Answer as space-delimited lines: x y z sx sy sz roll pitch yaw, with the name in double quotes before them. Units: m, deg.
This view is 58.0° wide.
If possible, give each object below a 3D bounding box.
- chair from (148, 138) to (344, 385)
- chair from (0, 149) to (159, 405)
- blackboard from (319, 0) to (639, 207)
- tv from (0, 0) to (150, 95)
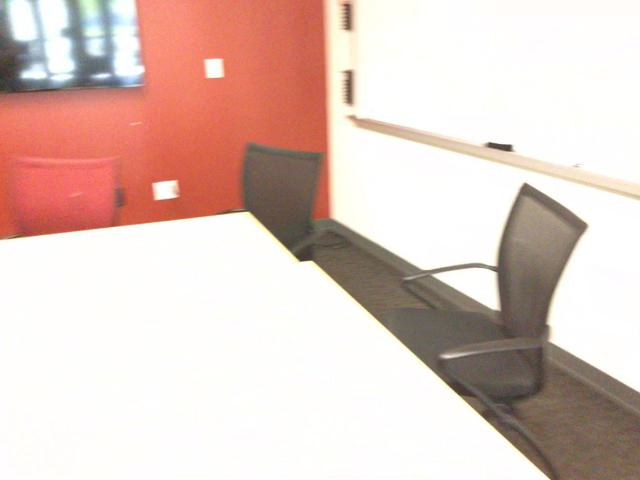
"chair" -0.280 0.040 2.530 0.490 0.860 0.650 9 21 31
"chair" -1.070 0.120 2.330 0.570 0.870 0.580 -1 18 3
"blackboard" 0.760 -0.810 2.400 0.110 1.050 3.290 -10 19 -24
"tv" -1.560 -1.150 2.990 1.210 0.750 0.160 -10 19 -23
